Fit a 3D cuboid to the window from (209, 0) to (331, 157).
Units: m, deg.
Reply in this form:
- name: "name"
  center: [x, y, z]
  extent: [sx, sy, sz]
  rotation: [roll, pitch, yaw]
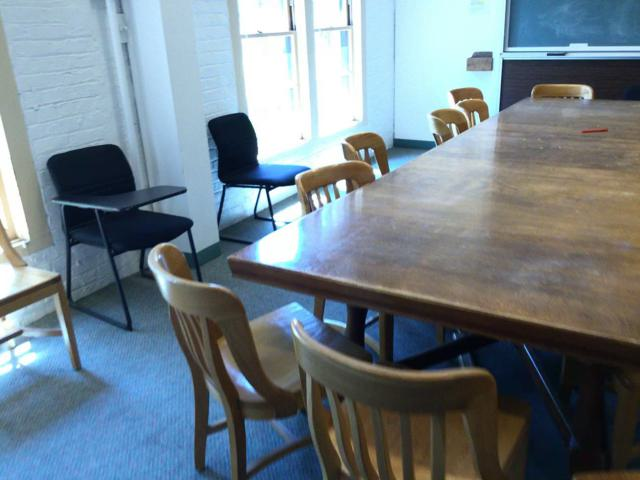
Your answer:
- name: "window"
  center: [-0.360, -1.480, 4.320]
  extent: [0.200, 1.510, 1.000]
  rotation: [3, 22, 32]
